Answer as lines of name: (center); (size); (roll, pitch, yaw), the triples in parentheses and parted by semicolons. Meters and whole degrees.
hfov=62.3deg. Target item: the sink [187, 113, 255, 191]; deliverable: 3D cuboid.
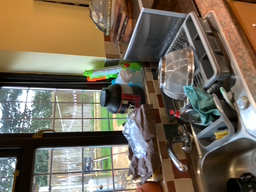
sink: (0.500, 0.360, 0.860); (0.520, 0.190, 0.420); (117, 150, -57)
